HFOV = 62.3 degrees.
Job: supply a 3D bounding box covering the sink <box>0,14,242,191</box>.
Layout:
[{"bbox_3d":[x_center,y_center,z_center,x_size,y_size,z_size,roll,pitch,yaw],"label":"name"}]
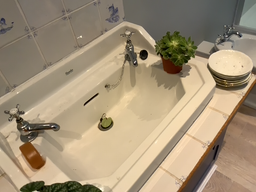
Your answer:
[{"bbox_3d":[-0.030,0.030,0.750,0.480,0.260,0.730,30,56,33],"label":"sink"}]
